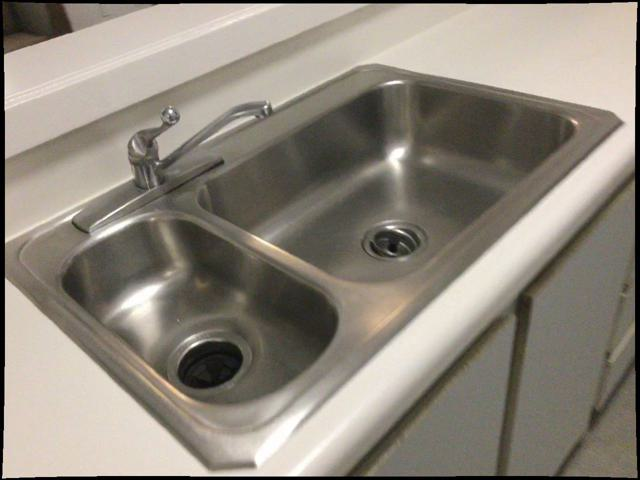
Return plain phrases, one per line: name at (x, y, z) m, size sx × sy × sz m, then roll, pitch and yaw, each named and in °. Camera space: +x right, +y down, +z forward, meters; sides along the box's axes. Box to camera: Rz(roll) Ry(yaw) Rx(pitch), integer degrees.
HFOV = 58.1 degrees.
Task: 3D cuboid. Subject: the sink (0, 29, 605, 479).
sink at (0.010, -0.040, 0.930) m, size 0.509 × 0.311 × 0.790 m, roll 25°, pitch 47°, yaw 38°
